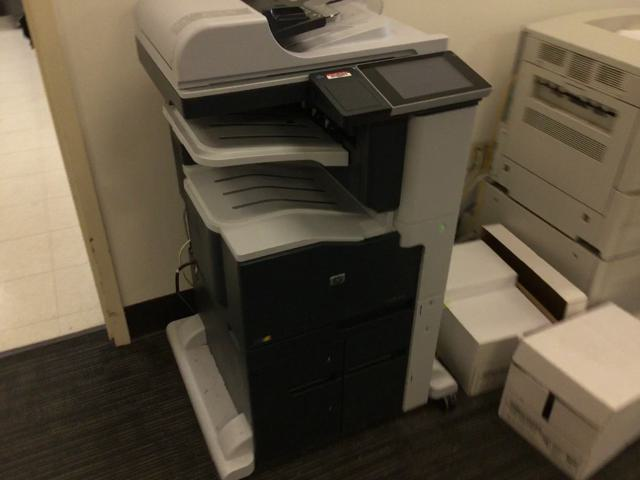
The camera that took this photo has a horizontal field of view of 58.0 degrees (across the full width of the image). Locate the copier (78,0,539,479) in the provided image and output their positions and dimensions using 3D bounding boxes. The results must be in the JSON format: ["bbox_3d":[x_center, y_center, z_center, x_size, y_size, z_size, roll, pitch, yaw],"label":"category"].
[{"bbox_3d":[-0.070,-0.050,1.530,0.760,1.170,0.730,-15,35,-19],"label":"copier"}]
